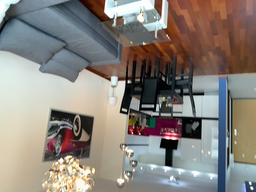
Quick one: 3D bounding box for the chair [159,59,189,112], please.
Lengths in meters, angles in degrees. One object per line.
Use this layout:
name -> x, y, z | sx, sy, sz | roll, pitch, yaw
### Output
chair -> 0.940, -0.200, 4.260 | 0.500, 0.990, 0.350 | 0, 169, 23

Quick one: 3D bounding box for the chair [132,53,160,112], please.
chair -> 0.370, -0.240, 4.130 | 0.350, 1.050, 0.490 | 1, 169, 22
